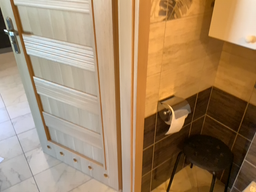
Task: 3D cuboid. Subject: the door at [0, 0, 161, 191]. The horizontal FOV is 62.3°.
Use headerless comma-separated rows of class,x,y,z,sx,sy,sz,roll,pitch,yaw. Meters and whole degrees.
door,-0.350,-0.200,1.250,1.040,2.080,0.110,16,36,23
